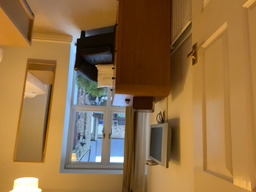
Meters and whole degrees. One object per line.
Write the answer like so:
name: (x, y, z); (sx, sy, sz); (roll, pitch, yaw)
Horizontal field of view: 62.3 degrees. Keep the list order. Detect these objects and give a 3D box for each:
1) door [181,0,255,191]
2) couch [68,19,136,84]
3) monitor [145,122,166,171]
door: (0.380, -0.270, 0.840); (0.060, 1.930, 0.800); (2, 171, -5)
couch: (-0.350, -0.590, 3.090); (0.730, 0.680, 0.640); (-2, 170, 23)
monitor: (0.260, 0.480, 2.120); (0.040, 0.400, 0.690); (2, 170, -6)
